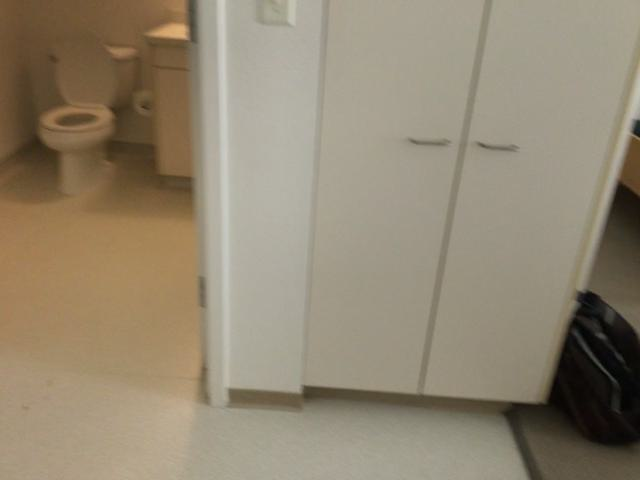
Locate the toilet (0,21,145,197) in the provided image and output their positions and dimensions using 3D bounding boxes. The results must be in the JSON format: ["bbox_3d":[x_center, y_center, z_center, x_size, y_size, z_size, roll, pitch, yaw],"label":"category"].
[{"bbox_3d":[-1.370,-0.760,3.260,0.500,0.810,0.720,1,26,-1],"label":"toilet"}]

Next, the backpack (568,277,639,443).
[{"bbox_3d":[0.920,0.390,1.820,0.210,0.460,0.350,-5,-21,25],"label":"backpack"}]
